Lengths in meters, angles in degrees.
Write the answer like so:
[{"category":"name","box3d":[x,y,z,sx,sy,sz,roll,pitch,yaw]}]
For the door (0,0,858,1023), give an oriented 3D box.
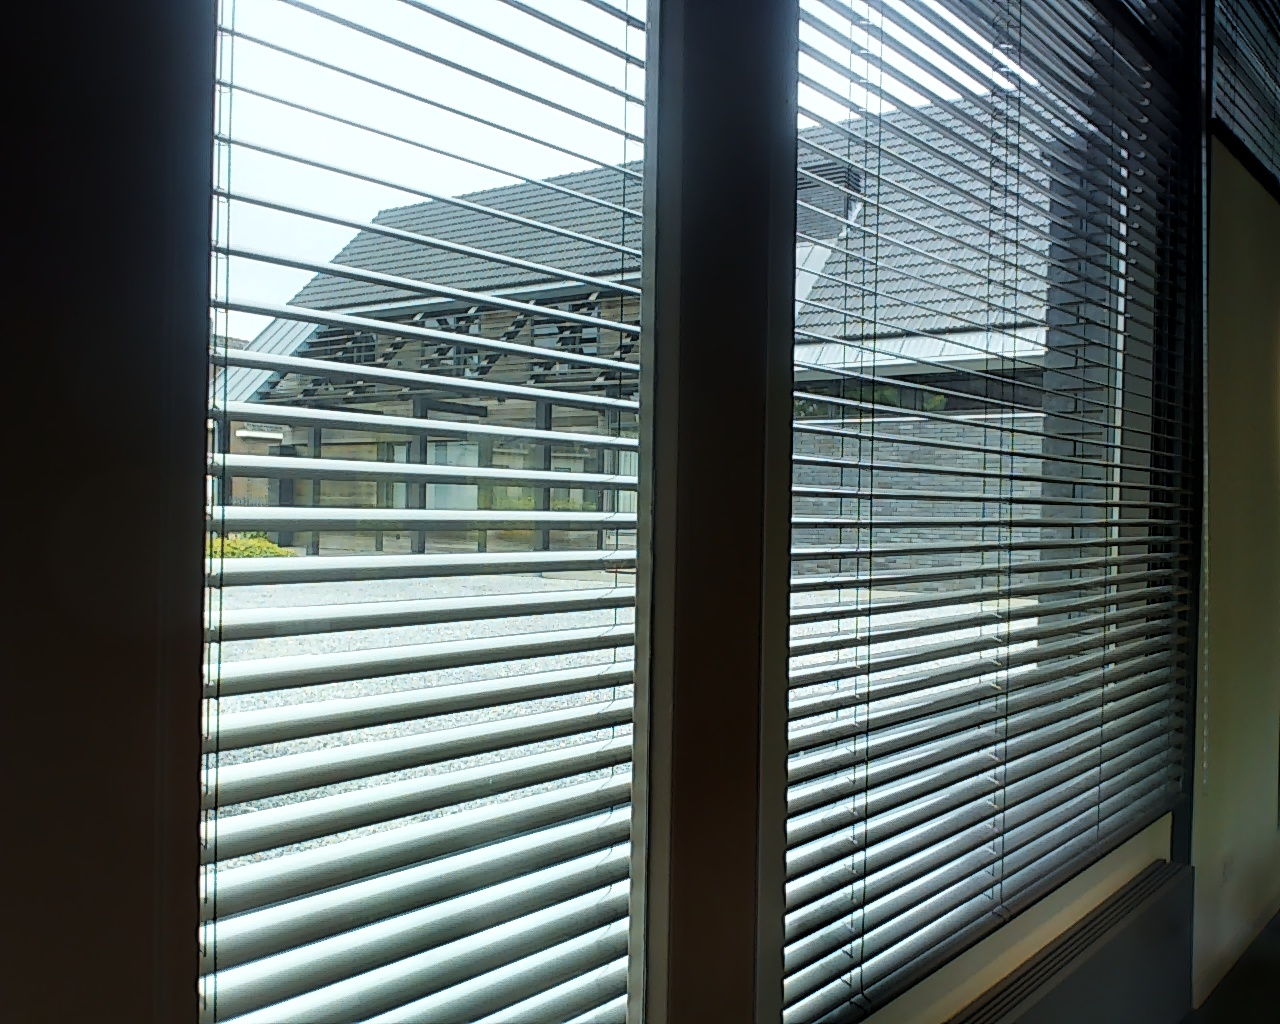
[{"category":"door","box3d":[-0.160,0.060,0.950,0.230,2.500,0.920,1,0,42]}]
